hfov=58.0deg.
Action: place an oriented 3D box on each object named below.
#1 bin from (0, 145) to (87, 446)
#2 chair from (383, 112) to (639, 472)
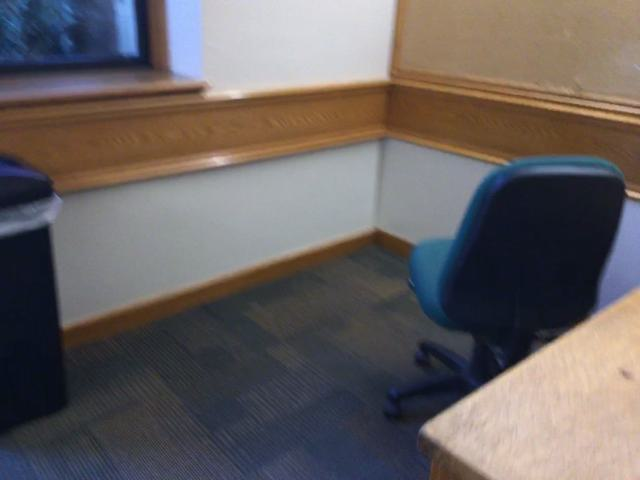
[{"bbox_3d":[-0.940,0.180,1.670,0.370,0.840,0.190,-16,29,-39],"label":"bin"},{"bbox_3d":[0.550,0.140,1.840,0.570,0.960,0.610,1,24,-1],"label":"chair"}]
